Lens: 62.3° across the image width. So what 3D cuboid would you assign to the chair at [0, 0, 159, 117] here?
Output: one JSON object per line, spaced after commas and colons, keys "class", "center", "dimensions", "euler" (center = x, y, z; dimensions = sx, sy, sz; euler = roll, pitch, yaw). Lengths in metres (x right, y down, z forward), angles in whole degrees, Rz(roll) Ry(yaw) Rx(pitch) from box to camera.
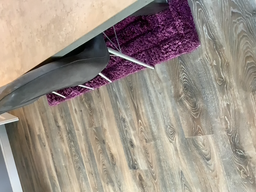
{"class": "chair", "center": [-0.320, -0.270, 1.170], "dimensions": [0.440, 0.920, 0.530], "euler": [-19, 88, 39]}
